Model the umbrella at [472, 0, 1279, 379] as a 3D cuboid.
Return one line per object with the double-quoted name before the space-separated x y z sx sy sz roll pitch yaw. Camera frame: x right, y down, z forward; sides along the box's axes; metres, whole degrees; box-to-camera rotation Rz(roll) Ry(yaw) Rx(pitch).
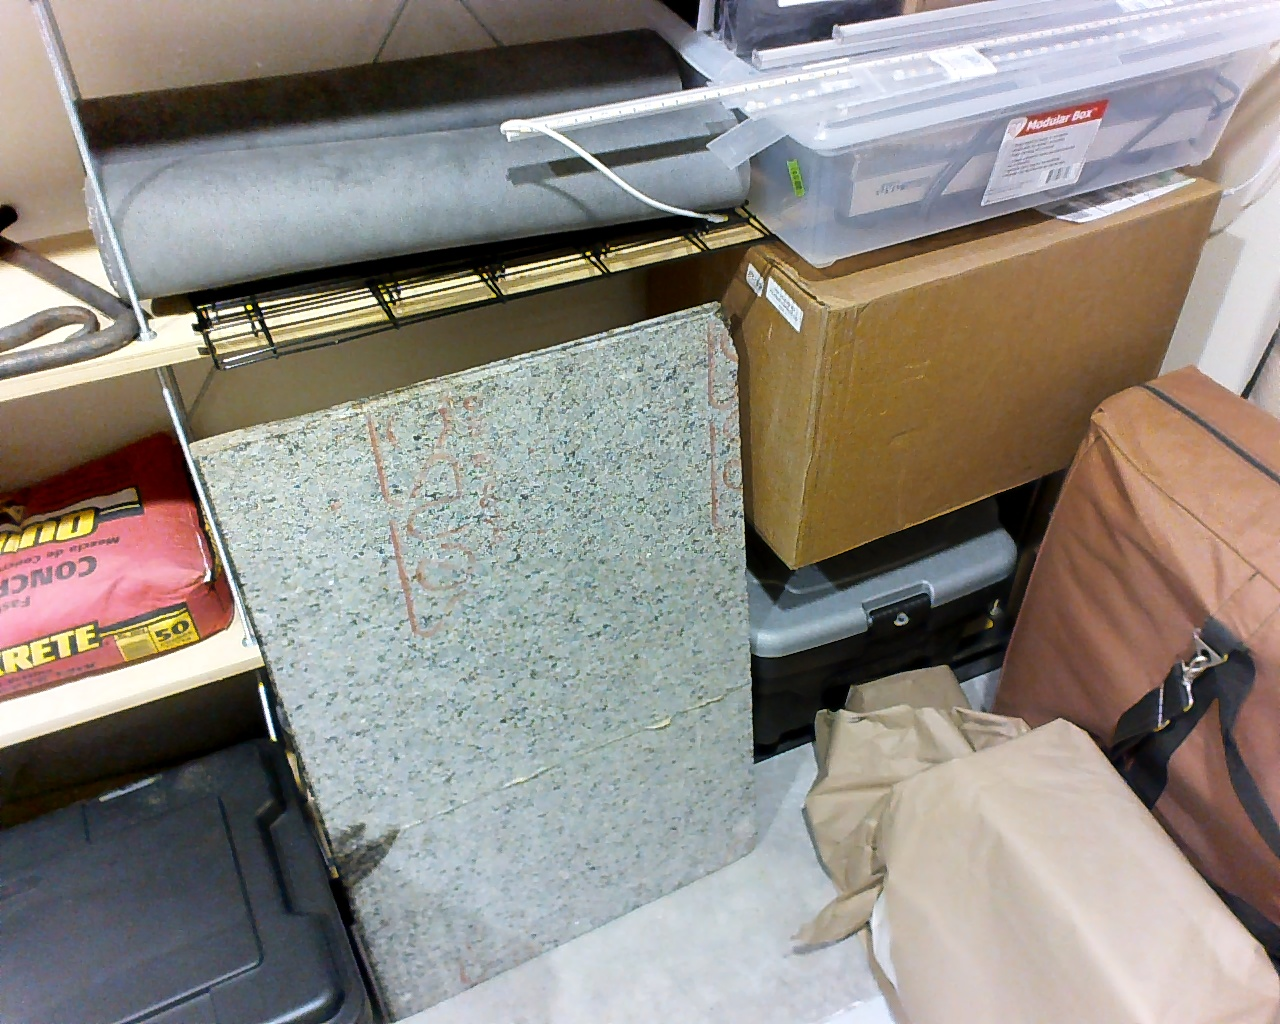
"umbrella" 0.310 -0.380 1.080 0.930 0.220 0.160 -17 45 -19
